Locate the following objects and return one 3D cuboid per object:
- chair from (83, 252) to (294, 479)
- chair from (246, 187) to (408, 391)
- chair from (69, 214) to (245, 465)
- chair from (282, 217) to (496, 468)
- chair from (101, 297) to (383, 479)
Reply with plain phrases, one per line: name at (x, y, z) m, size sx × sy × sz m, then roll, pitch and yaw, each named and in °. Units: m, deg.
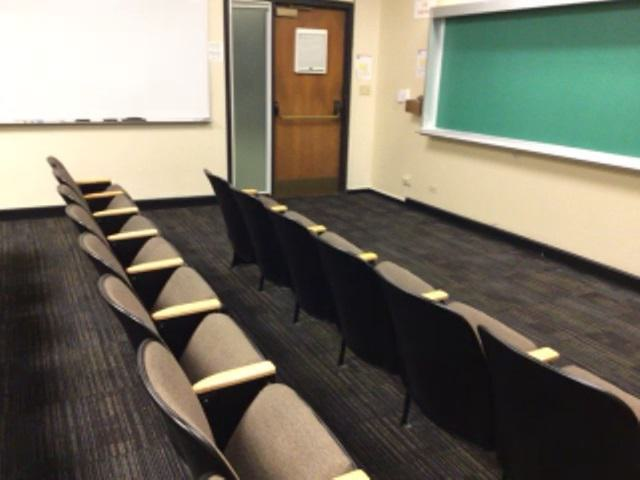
chair at (-0.430, 0.500, 1.900) m, size 0.530 × 0.770 × 0.450 m, roll -7°, pitch 18°, yaw -28°
chair at (0.000, 0.200, 3.000) m, size 0.530 × 0.800 × 0.700 m, roll -7°, pitch 18°, yaw -28°
chair at (-0.670, 0.350, 2.370) m, size 0.530 × 0.760 × 0.590 m, roll -7°, pitch 18°, yaw -28°
chair at (0.250, 0.370, 2.480) m, size 0.580 × 0.760 × 0.680 m, roll -7°, pitch 18°, yaw -28°
chair at (-0.220, 0.620, 1.460) m, size 0.490 × 0.740 × 0.540 m, roll -7°, pitch 18°, yaw -28°
